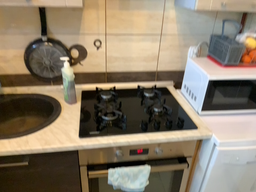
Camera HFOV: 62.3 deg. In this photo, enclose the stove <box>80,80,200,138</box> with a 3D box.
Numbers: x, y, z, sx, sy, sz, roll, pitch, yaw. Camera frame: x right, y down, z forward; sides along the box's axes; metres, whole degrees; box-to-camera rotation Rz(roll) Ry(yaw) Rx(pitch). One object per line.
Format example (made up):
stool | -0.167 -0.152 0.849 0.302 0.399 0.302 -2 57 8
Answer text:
stove | 0.030 0.040 1.280 0.600 0.050 0.540 -2 29 -9
